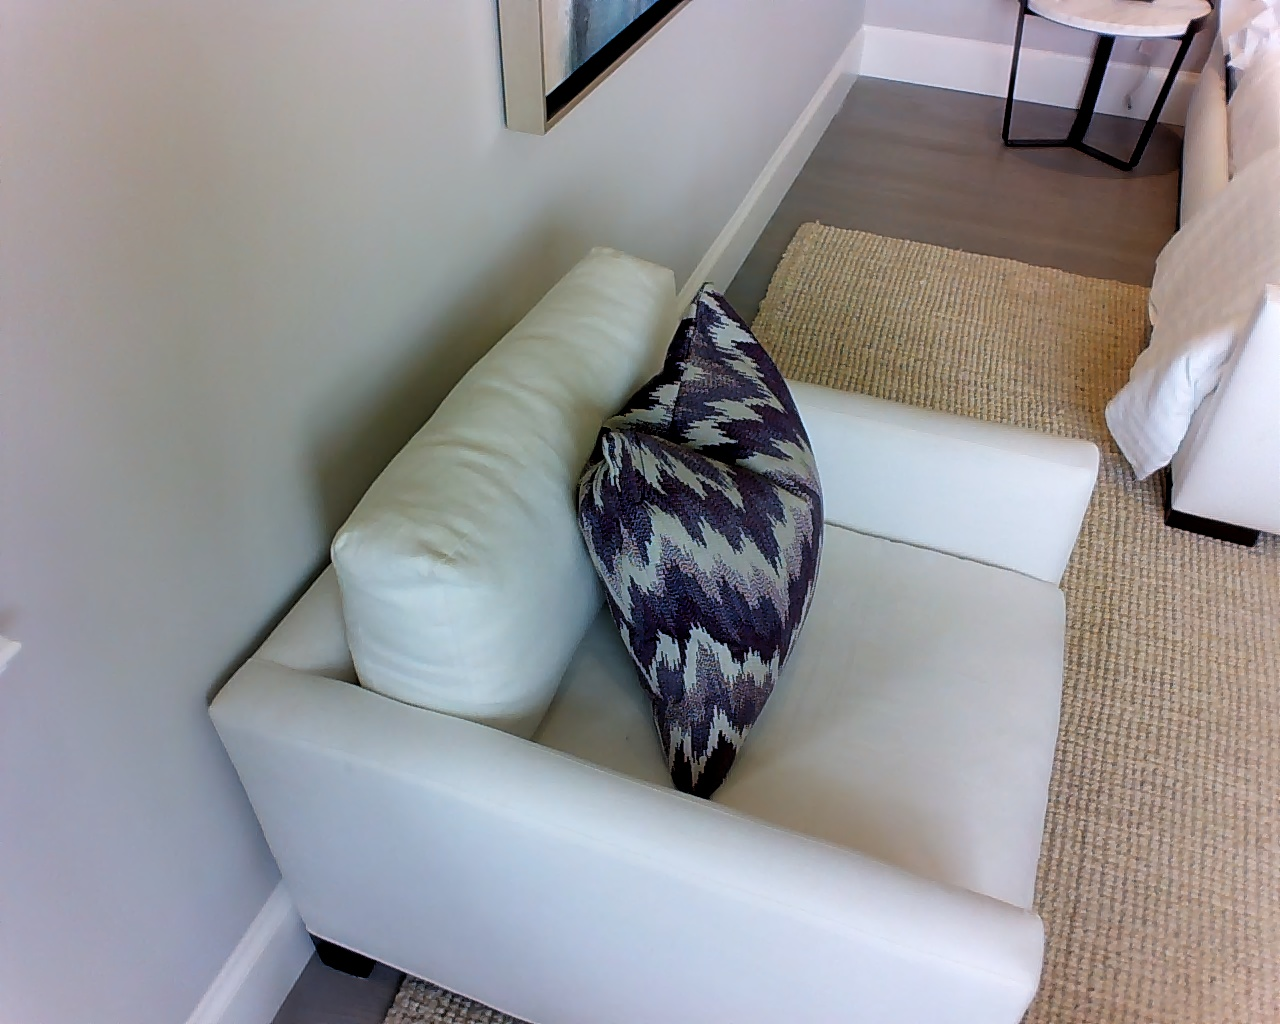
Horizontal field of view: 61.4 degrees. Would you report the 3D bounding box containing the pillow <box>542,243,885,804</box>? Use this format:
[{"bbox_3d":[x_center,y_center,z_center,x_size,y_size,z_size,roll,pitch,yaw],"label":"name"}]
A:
[{"bbox_3d":[0.100,0.000,1.330,0.240,0.440,0.490,14,44,14],"label":"pillow"}]

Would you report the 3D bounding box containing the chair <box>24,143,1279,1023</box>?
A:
[{"bbox_3d":[0.120,0.210,1.480,1.070,0.910,1.000,14,44,14],"label":"chair"}]
